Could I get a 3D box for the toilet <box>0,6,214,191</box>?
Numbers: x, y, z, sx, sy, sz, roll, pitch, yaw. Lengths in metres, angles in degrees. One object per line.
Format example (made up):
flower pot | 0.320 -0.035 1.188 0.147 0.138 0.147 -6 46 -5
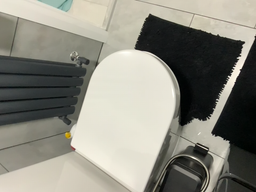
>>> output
toilet | -0.050 0.150 0.820 0.390 0.830 0.650 26 105 25
